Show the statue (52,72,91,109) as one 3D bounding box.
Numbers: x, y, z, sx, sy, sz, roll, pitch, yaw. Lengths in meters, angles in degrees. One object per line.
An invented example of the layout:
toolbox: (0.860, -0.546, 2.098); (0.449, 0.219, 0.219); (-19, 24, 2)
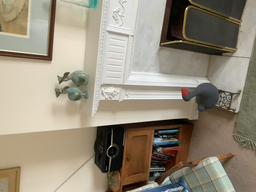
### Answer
statue: (-0.320, -0.030, 1.200); (0.080, 0.180, 0.190); (21, 107, 53)

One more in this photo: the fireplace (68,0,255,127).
fireplace: (0.320, -0.580, 1.460); (0.590, 1.190, 1.360); (20, 106, 53)

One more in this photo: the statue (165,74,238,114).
statue: (0.590, -0.020, 1.680); (0.210, 0.580, 0.240); (21, 107, 53)

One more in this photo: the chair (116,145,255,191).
chair: (0.460, 0.810, 1.660); (0.770, 0.710, 0.550); (-42, 57, 46)
